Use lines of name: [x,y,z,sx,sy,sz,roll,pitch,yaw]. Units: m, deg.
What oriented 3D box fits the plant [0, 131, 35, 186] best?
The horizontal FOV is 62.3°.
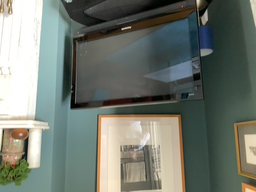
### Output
plant: [-0.750,0.390,1.370,0.210,0.320,0.180,0,170,-4]
